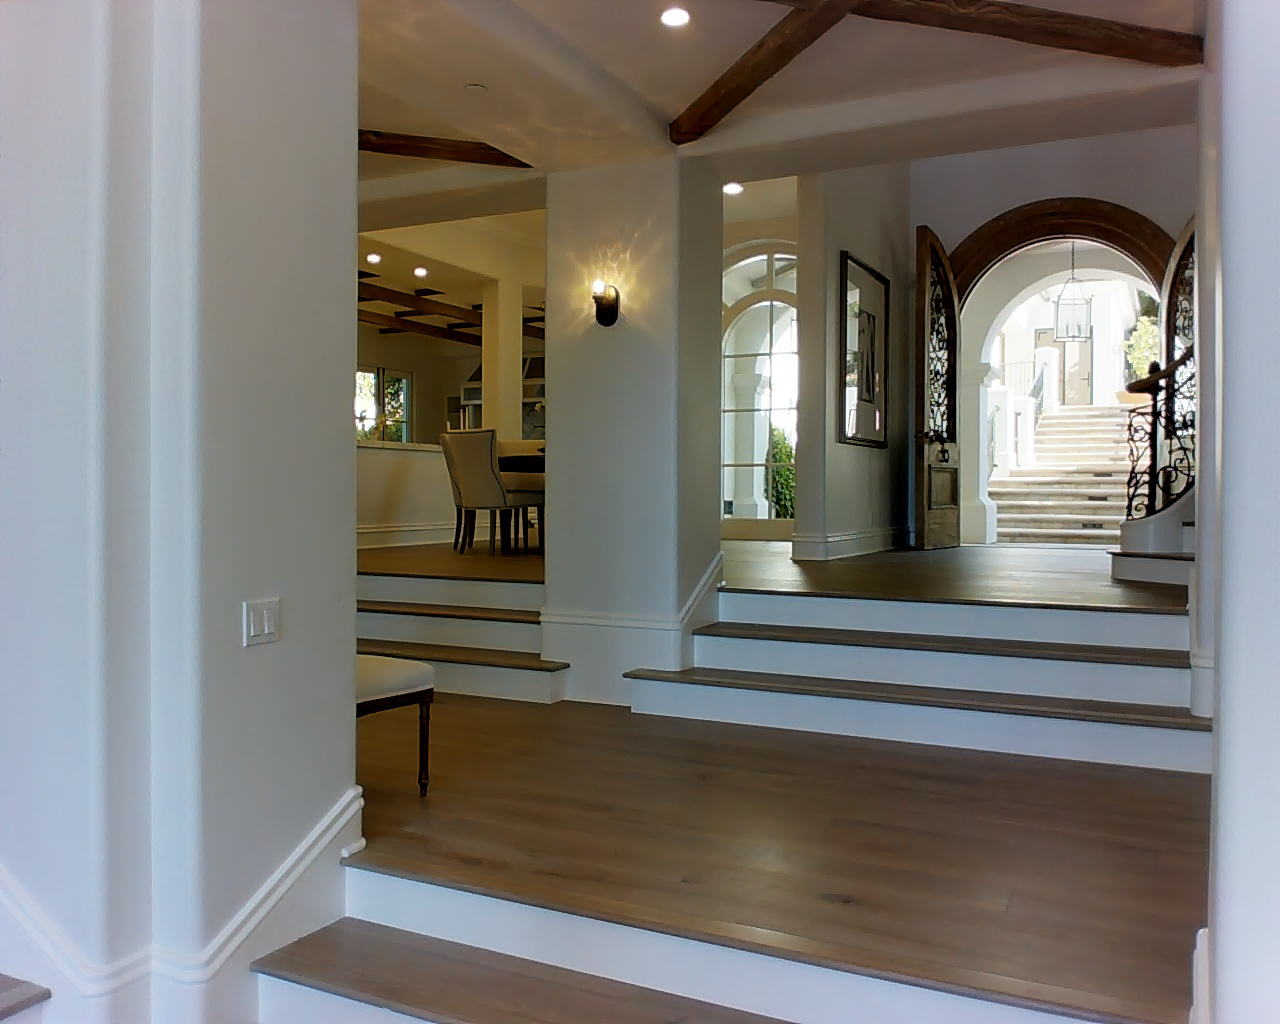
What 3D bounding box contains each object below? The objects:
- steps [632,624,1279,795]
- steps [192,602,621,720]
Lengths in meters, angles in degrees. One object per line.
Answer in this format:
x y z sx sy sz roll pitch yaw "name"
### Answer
1.280 0.810 4.770 2.659 0.440 0.580 0 0 27 "steps"
-1.410 0.810 6.160 2.639 0.440 0.570 0 0 27 "steps"
